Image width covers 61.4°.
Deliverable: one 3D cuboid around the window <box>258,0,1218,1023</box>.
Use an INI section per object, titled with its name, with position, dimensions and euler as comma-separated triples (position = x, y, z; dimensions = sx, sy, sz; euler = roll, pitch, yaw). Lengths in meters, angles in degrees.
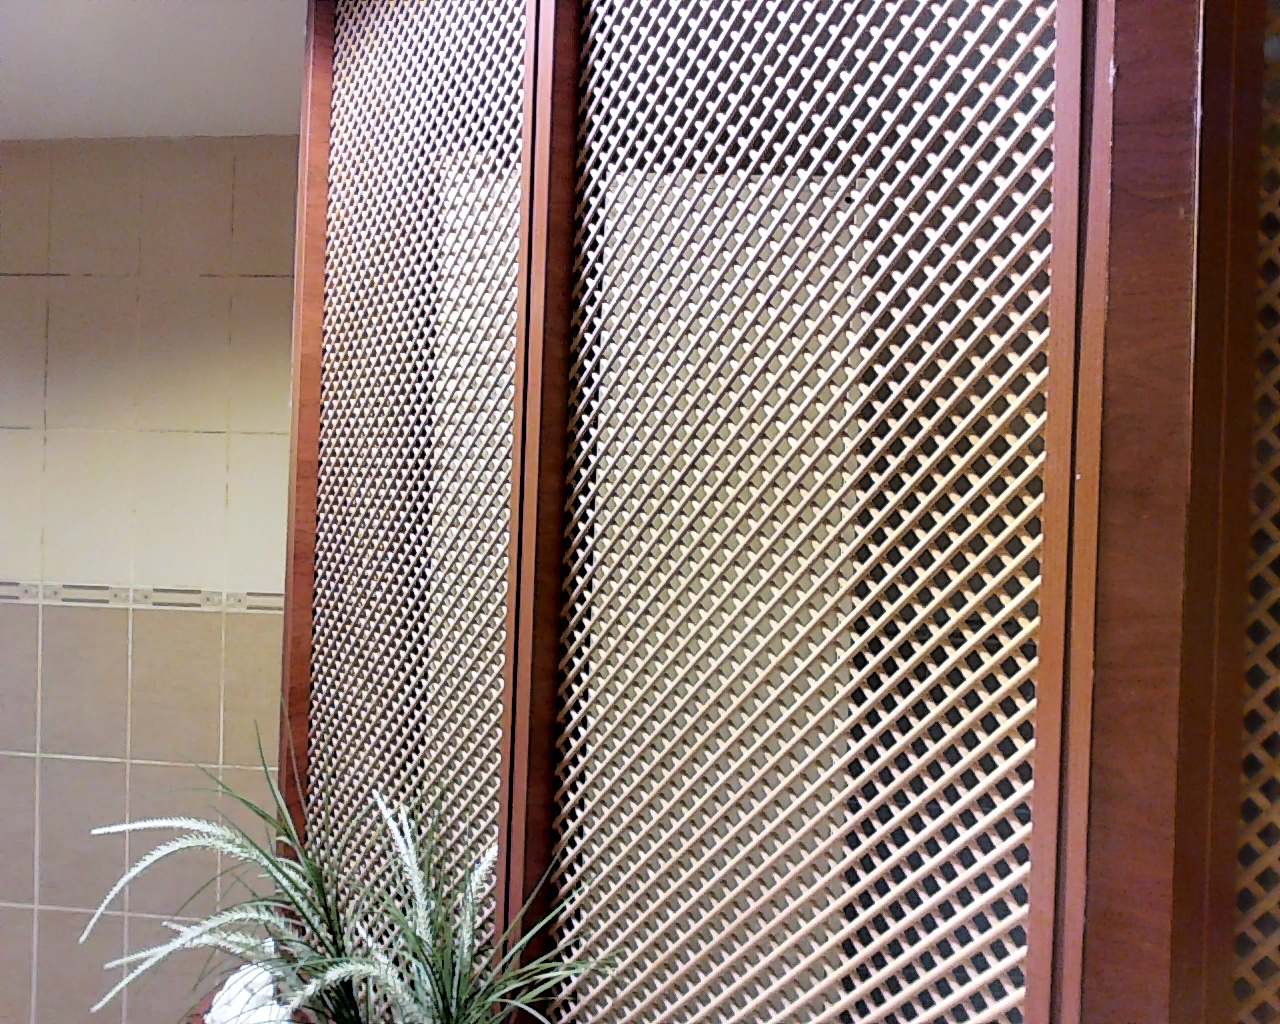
[window]
position = -0.090, 0.000, 1.240
dimensions = 0.180, 1.740, 1.340
euler = 1, 1, -40
